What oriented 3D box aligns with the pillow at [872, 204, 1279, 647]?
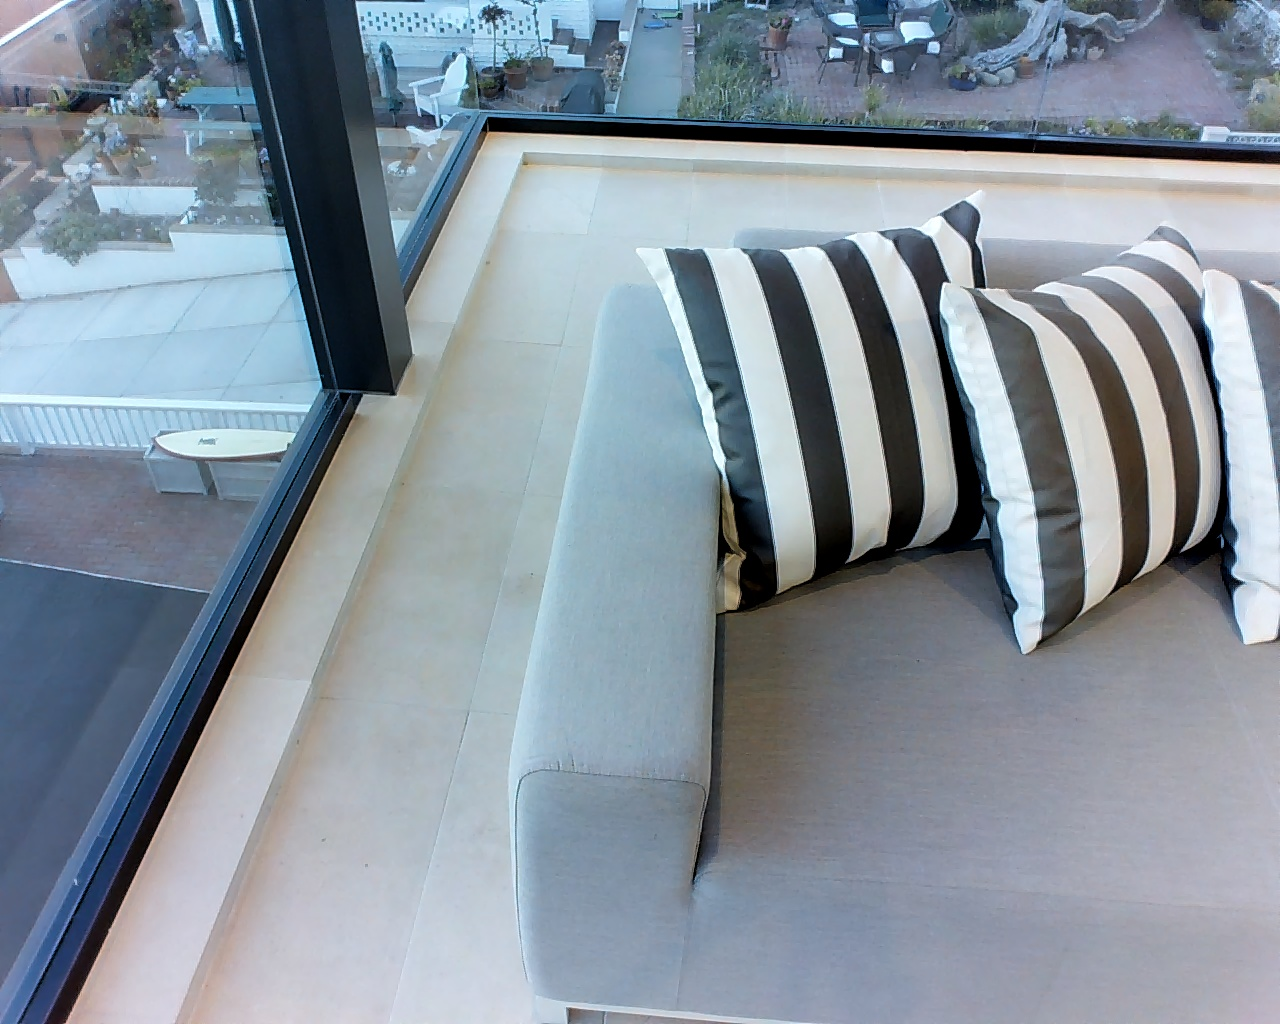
[{"bbox_3d":[0.710,-0.150,1.590,0.590,0.350,0.350,-23,47,-24],"label":"pillow"}]
